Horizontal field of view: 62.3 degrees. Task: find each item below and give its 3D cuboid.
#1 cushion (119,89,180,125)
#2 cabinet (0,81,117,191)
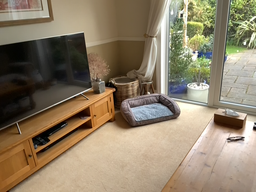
[{"bbox_3d":[0.290,0.140,3.150,0.750,0.200,0.620,-7,23,-11],"label":"cushion"},{"bbox_3d":[-0.870,0.350,2.440,0.540,0.500,1.780,11,26,31],"label":"cabinet"}]
